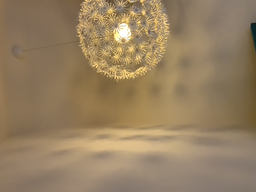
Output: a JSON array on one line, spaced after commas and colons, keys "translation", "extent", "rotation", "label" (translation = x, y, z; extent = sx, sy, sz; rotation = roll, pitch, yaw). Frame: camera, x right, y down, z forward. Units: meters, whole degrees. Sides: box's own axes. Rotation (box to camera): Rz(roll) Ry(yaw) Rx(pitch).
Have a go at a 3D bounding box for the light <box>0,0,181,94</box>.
[{"translation": [-0.460, -0.650, 2.310], "extent": [0.940, 1.870, 0.900], "rotation": [41, -130, -60], "label": "light"}]
